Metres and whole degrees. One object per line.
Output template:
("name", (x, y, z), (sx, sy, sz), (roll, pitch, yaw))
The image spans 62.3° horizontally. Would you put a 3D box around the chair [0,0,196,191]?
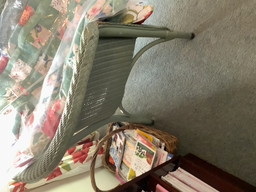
("chair", (-0.150, -0.100, 0.890), (0.460, 0.620, 0.640), (25, 110, 35))
